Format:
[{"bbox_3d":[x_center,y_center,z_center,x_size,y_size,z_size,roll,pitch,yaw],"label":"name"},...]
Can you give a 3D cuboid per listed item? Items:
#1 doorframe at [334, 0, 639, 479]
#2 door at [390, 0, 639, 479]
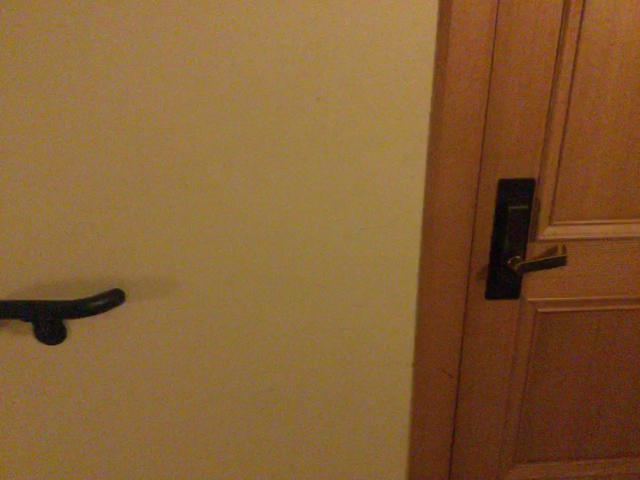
[{"bbox_3d":[0.730,-0.110,1.170,1.280,2.160,0.070,2,21,-5],"label":"doorframe"},{"bbox_3d":[0.750,-0.110,1.170,1.030,2.140,0.080,2,21,-5],"label":"door"}]
